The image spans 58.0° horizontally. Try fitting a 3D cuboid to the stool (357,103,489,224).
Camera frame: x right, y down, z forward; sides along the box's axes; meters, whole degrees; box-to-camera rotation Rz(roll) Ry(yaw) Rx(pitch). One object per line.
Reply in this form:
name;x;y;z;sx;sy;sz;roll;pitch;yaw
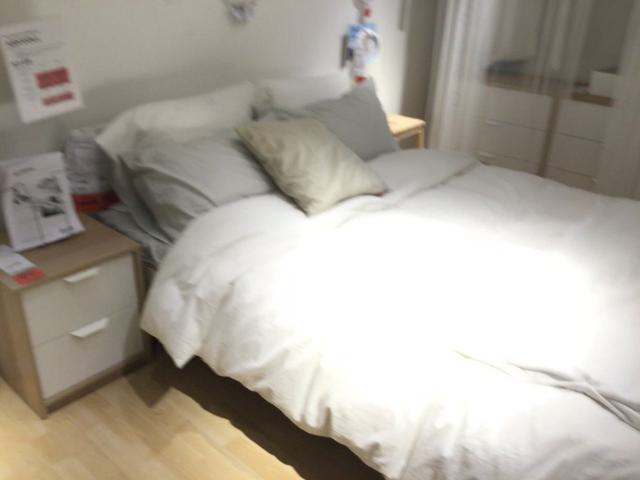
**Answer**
stool;0.560;-0.450;3.230;0.560;0.480;0.420;22;35;40
